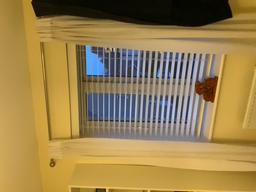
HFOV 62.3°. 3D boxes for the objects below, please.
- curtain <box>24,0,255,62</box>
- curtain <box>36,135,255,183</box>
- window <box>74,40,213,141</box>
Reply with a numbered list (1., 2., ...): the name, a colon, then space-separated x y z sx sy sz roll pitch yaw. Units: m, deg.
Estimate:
1. curtain: 0.460 -0.470 1.470 0.190 2.220 0.410 -91 3 -71
2. curtain: 0.380 0.520 1.750 0.200 2.160 0.280 -92 4 -73
3. window: 0.110 -0.020 1.850 0.070 1.100 0.860 -91 3 -71
